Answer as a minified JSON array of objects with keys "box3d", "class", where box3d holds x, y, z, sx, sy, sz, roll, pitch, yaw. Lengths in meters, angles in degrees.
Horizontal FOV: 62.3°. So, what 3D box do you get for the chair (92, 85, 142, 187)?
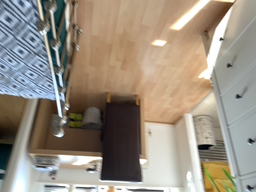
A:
[{"box3d":[-0.140,0.480,2.470,0.440,1.000,0.610,5,150,-9],"class":"chair"}]
